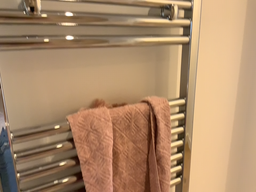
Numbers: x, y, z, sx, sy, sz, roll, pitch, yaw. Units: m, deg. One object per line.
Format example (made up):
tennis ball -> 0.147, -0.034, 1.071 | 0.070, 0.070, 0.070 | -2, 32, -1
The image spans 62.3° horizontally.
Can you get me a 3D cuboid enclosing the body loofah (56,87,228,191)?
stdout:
body loofah -> 0.030, 0.250, 0.500 | 0.310, 0.490, 0.170 | -8, 17, -27
